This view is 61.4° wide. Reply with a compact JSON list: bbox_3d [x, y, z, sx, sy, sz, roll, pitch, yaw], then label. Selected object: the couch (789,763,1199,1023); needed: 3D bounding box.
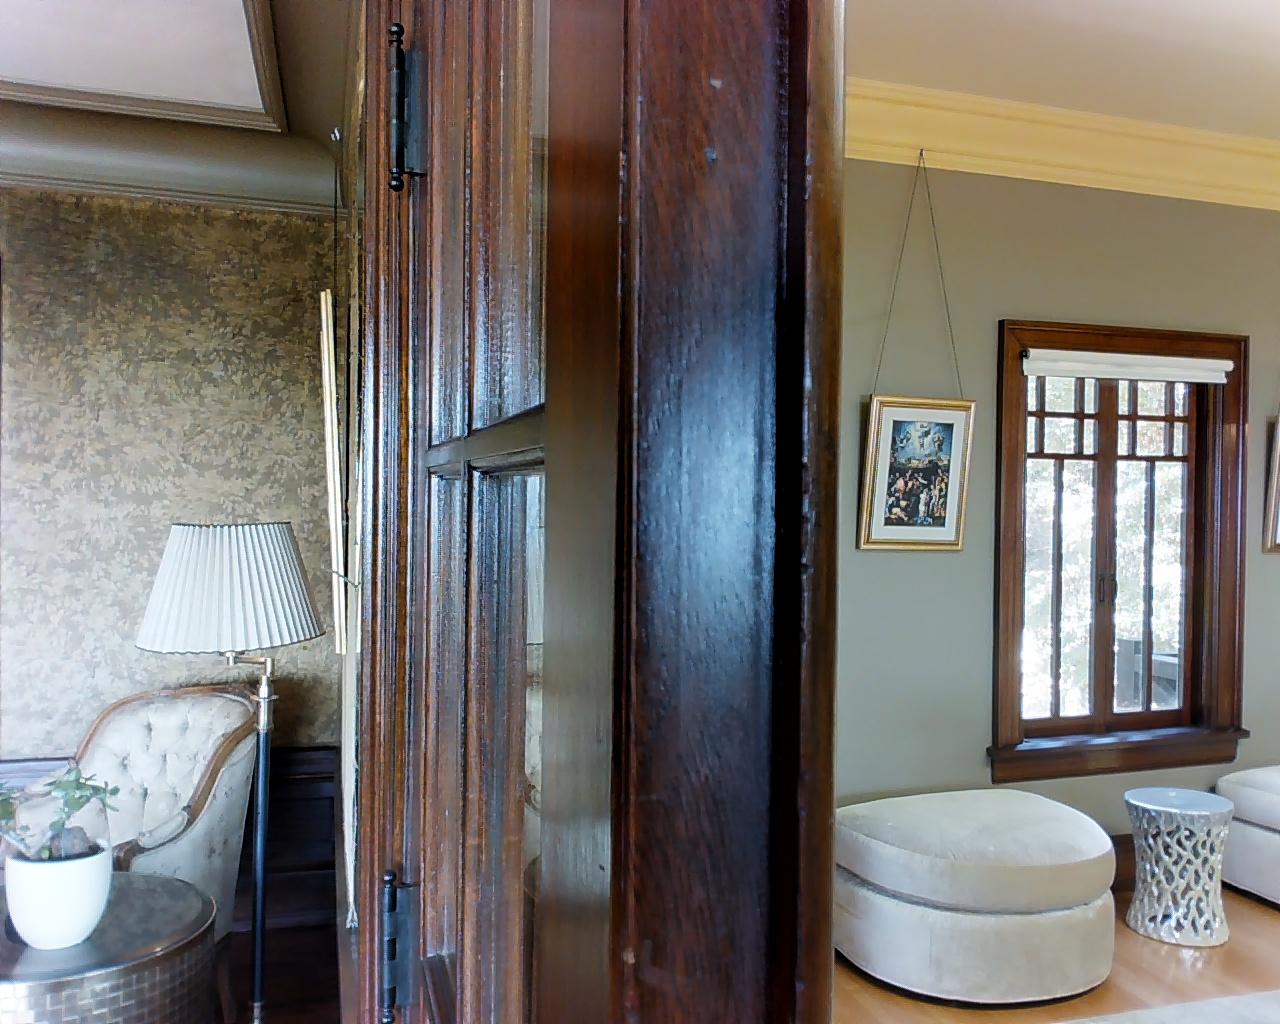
[{"bbox_3d":[1.160,1.240,3.680,1.030,0.500,0.840,0,1,-17],"label":"couch"}]
